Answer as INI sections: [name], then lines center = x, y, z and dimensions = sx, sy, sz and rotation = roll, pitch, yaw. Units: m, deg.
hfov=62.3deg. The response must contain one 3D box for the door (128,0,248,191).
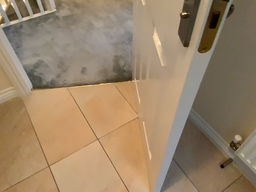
[door]
center = 0.080, -0.420, 0.520
dimensions = 0.030, 2.010, 0.760
rotation = -8, 52, -6
